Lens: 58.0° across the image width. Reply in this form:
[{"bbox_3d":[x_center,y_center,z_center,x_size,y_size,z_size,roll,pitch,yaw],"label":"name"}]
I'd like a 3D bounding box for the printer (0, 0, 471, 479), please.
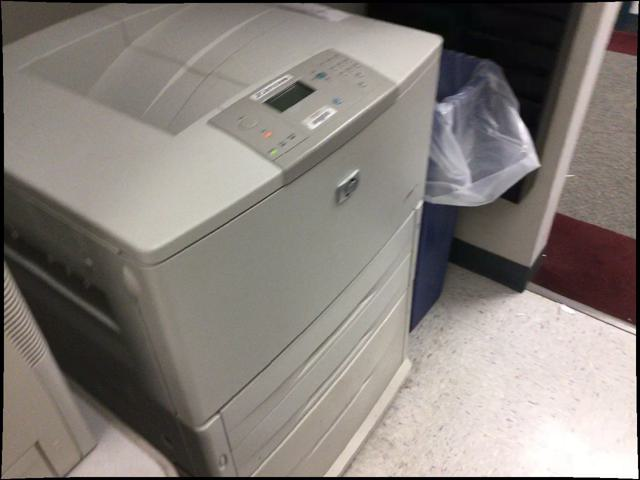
[{"bbox_3d":[-0.200,0.040,1.230,0.639,0.971,0.790,24,50,28],"label":"printer"}]
